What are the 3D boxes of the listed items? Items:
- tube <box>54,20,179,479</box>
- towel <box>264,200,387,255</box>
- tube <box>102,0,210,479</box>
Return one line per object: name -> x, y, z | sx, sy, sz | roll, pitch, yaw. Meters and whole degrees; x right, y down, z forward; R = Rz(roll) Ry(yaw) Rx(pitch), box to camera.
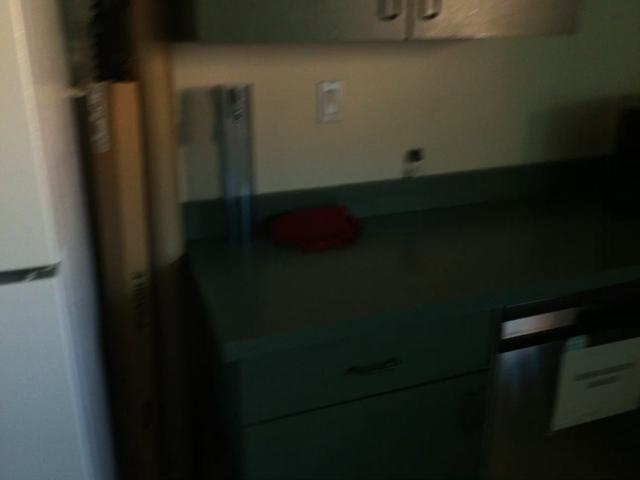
tube -> -0.470, 0.190, 1.420 | 0.150, 1.360, 0.330 | -6, 21, -20
towel -> 0.010, -0.040, 1.550 | 0.270, 0.060, 0.210 | -6, 21, -20
tube -> -0.400, -0.080, 1.410 | 0.150, 1.890, 0.250 | -6, 21, -20
